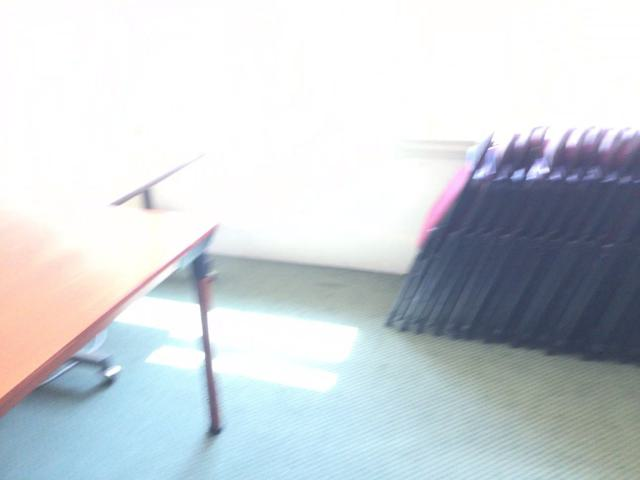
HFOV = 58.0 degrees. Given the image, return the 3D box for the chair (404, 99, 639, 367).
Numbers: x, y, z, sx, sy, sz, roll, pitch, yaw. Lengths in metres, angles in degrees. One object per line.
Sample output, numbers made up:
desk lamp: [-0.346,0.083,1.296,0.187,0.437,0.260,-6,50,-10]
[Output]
chair: [1.080,-0.030,2.100,1.460,0.880,0.390,1,22,17]

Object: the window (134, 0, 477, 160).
window: [-0.070,-0.940,2.470,1.420,1.110,0.300,1,22,17]
